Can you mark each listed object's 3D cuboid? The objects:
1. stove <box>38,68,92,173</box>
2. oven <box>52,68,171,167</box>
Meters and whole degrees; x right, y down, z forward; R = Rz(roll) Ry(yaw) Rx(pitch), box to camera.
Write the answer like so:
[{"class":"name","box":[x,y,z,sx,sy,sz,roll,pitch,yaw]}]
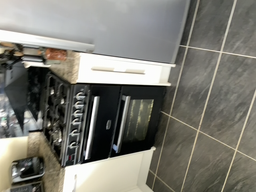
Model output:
[{"class":"stove","box":[-0.520,0.140,1.630,0.640,0.130,0.580,29,113,49]},{"class":"oven","box":[-0.170,0.130,1.900,0.630,0.770,0.580,29,113,49]}]
